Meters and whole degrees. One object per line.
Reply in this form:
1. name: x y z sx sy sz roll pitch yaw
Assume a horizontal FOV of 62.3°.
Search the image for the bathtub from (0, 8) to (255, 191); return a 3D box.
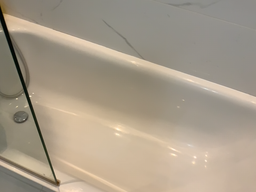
1. bathtub: -0.080 0.220 0.980 1.650 0.540 0.690 20 48 9
